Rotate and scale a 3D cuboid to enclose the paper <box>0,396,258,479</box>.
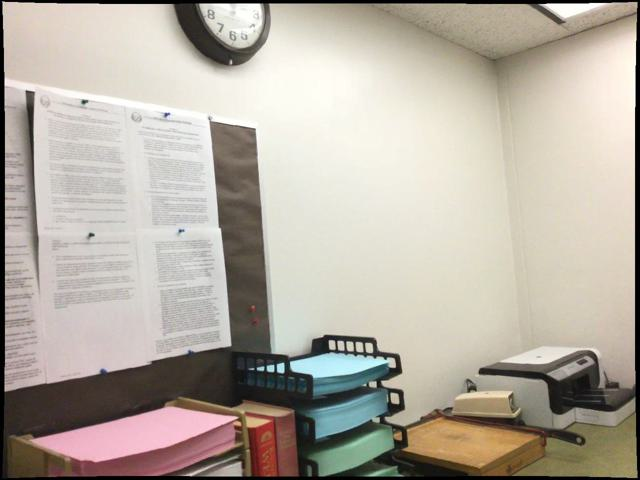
[{"bbox_3d":[-0.349,0.491,1.060,0.389,0.291,0.270,-2,-2,-45],"label":"paper"}]

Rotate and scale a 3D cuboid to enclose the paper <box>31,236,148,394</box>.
[{"bbox_3d":[-0.459,0.140,1.160,0.210,0.291,0.030,-2,-2,-45],"label":"paper"}]

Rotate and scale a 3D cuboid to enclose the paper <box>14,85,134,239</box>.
[{"bbox_3d":[-0.499,-0.150,1.180,0.210,0.291,0.050,-2,-2,-45],"label":"paper"}]

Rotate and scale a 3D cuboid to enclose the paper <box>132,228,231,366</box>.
[{"bbox_3d":[-0.309,0.120,1.310,0.220,0.291,0.030,-2,-2,-45],"label":"paper"}]

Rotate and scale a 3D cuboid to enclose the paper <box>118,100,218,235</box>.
[{"bbox_3d":[-0.349,-0.160,1.340,0.220,0.291,0.040,-2,-2,-45],"label":"paper"}]
